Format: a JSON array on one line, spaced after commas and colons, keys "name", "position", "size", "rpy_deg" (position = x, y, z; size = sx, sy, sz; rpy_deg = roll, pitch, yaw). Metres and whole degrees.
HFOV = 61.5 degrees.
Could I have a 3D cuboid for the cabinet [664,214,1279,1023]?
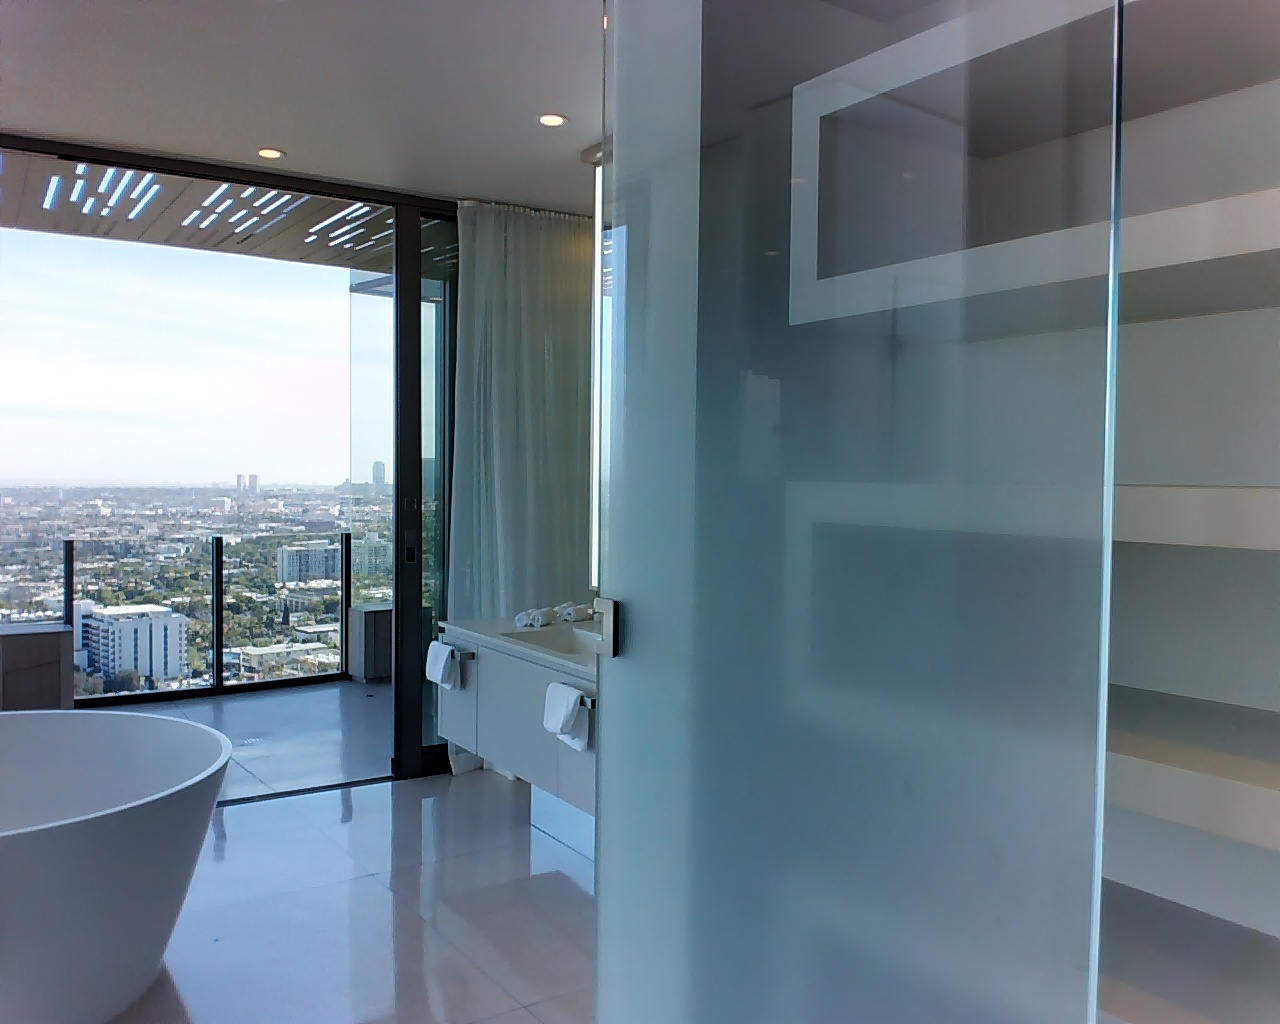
[{"name": "cabinet", "position": [0.410, 0.600, 1.410], "size": [0.430, 1.770, 0.680], "rpy_deg": [-1, 2, -36]}]
